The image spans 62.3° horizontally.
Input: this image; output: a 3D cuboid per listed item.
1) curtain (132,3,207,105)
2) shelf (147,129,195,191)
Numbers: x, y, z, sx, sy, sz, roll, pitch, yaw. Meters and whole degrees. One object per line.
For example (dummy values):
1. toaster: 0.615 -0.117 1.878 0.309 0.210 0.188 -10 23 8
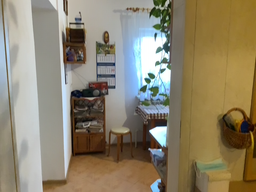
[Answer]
1. curtain: 0.660 -0.650 3.500 1.130 1.560 0.250 0 9 -8
2. shelf: 0.310 0.780 1.750 0.150 0.860 0.600 -1 9 -10
